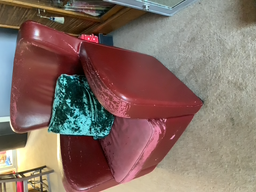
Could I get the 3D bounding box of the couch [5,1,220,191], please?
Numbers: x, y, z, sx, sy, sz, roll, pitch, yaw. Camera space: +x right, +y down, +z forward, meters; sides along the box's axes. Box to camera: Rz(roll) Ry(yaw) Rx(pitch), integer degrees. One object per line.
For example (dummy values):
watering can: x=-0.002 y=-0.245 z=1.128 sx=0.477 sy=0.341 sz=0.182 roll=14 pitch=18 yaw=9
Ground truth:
couch: x=-0.180 y=0.050 z=1.280 sx=0.780 sy=0.840 sz=0.760 roll=52 pitch=130 yaw=37
